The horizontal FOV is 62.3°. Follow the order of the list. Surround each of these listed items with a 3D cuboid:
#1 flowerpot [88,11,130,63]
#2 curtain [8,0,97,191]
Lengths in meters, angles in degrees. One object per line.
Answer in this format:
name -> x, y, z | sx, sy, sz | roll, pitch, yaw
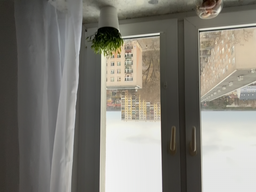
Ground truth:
flowerpot -> -0.100, -0.320, 1.190 | 0.190, 0.230, 0.150 | 0, 176, 15
curtain -> -0.360, 0.250, 1.030 | 0.330, 1.640, 0.190 | 0, 176, 14
